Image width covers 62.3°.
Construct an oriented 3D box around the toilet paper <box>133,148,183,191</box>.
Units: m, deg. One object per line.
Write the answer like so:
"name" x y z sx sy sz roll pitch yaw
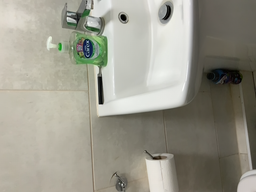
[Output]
"toilet paper" 0.100 0.270 0.710 0.090 0.120 0.170 -20 73 56
